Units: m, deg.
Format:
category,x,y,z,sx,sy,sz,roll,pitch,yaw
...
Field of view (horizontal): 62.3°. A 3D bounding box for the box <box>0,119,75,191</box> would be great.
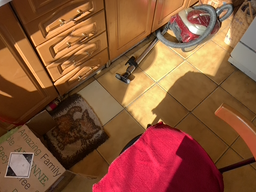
category,x,y,z,sx,sy,sz,roll,pitch,yaw
box,-0.490,0.350,1.070,0.240,0.270,0.320,-41,70,-20
